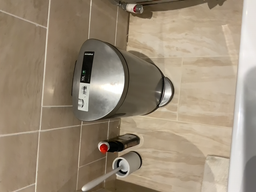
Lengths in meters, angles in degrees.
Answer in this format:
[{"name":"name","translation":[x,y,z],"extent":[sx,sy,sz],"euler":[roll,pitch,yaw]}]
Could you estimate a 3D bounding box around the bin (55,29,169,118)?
[{"name":"bin","translation":[-0.030,-0.070,0.870],"extent":[0.240,0.440,0.260],"euler":[7,91,28]}]
